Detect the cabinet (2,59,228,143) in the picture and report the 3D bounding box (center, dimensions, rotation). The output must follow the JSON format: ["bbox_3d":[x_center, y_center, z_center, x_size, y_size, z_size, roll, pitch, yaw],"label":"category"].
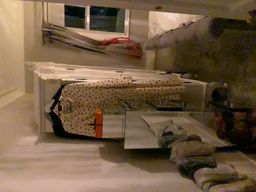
[{"bbox_3d":[-0.290,-0.120,3.360,2.640,2.190,0.740,-144,56,-75],"label":"cabinet"}]
